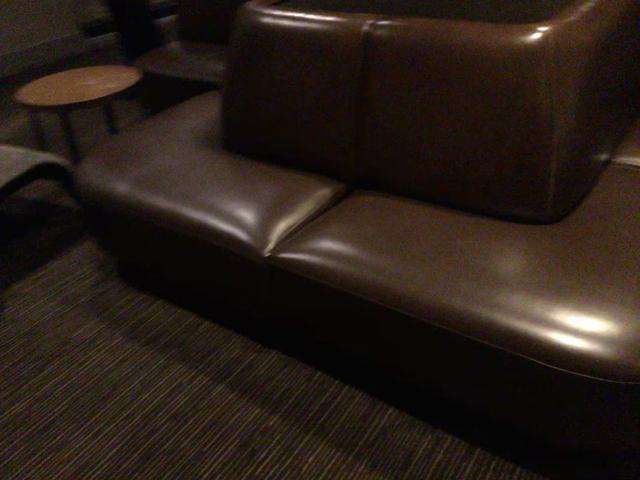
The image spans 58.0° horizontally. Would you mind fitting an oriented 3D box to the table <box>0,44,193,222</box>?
[{"bbox_3d":[-1.060,-0.530,2.720,0.580,0.540,0.580,19,42,29],"label":"table"}]
